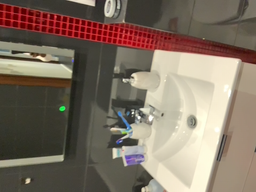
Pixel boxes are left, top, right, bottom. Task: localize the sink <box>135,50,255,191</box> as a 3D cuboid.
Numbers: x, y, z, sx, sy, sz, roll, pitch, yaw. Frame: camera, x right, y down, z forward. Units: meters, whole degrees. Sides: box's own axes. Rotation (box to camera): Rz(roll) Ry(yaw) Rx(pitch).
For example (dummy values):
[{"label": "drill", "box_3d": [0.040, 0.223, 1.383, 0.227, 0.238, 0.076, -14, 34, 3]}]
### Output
[{"label": "sink", "box_3d": [0.250, 0.130, 0.970, 0.460, 0.140, 0.630, 29, 113, 59]}]
